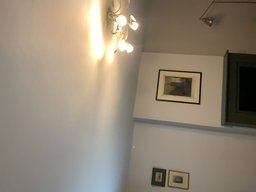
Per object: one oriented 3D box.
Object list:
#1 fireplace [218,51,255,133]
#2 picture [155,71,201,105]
[{"bbox_3d":[1.890,-0.050,3.070,0.210,1.020,1.160,58,-142,-73],"label":"fireplace"},{"bbox_3d":[0.790,-0.140,3.360,0.030,0.670,0.500,58,-142,-73],"label":"picture"}]
